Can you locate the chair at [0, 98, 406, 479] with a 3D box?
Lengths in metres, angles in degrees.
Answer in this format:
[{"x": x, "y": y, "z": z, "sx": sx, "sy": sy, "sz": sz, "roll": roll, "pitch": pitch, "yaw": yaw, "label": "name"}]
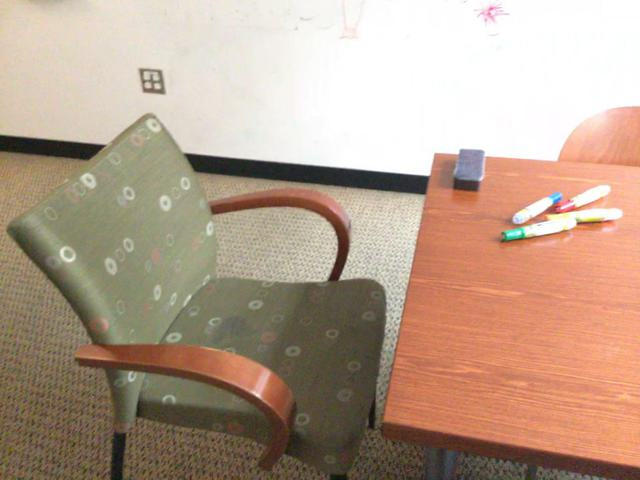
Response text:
[{"x": -0.160, "y": 0.100, "z": 1.160, "sx": 0.580, "sy": 0.550, "sz": 0.620, "roll": 5, "pitch": 34, "yaw": 11, "label": "chair"}]
